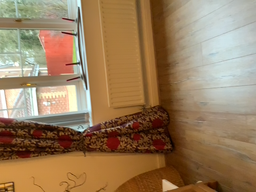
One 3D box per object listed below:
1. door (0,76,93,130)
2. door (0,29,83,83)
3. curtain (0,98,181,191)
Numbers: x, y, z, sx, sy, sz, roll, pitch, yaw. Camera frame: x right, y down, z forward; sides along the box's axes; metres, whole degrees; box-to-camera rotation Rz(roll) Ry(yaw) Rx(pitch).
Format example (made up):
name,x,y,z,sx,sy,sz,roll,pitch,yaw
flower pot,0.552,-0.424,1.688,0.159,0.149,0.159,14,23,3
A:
name,x,y,z,sx,sy,sz,roll,pitch,yaw
door,-1.080,0.080,2.130,0.160,1.390,0.460,170,94,-69
door,-1.170,-0.400,2.140,0.160,1.340,0.500,175,90,-70
curtain,-0.620,0.430,1.930,0.250,2.380,0.610,178,87,-69
